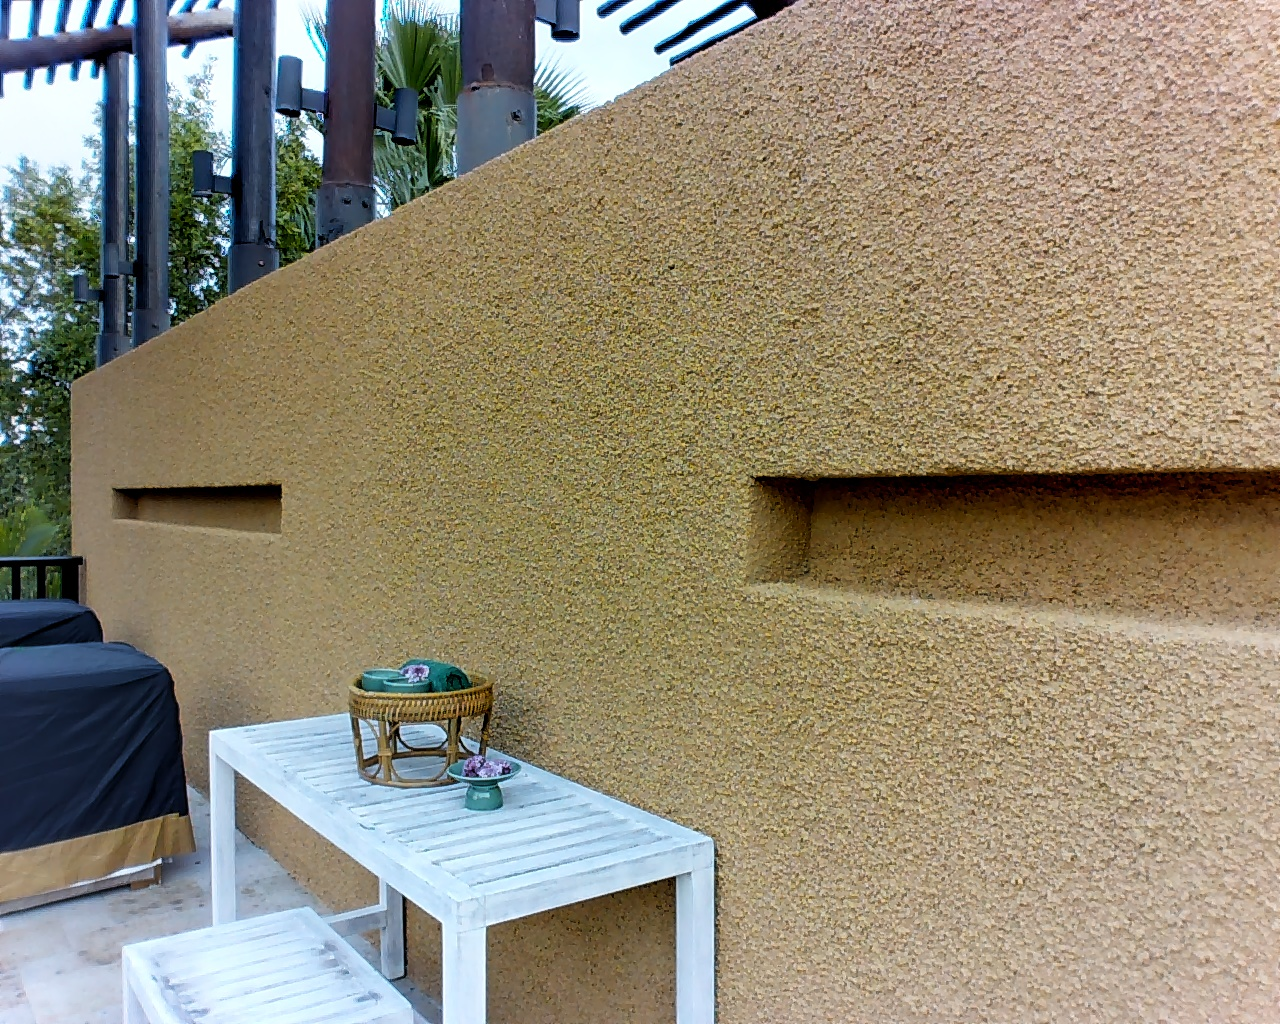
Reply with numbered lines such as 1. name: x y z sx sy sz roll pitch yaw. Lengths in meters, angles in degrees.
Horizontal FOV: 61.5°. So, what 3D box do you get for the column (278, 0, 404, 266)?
1. column: -1.090 -2.061 3.900 0.320 2.221 0.420 -1 1 -34
